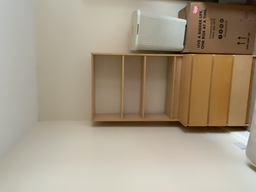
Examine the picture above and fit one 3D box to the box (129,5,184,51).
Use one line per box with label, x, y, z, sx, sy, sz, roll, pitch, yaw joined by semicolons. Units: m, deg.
box;0.320;-0.790;2.530;0.370;0.550;0.440;-132;43;-79
